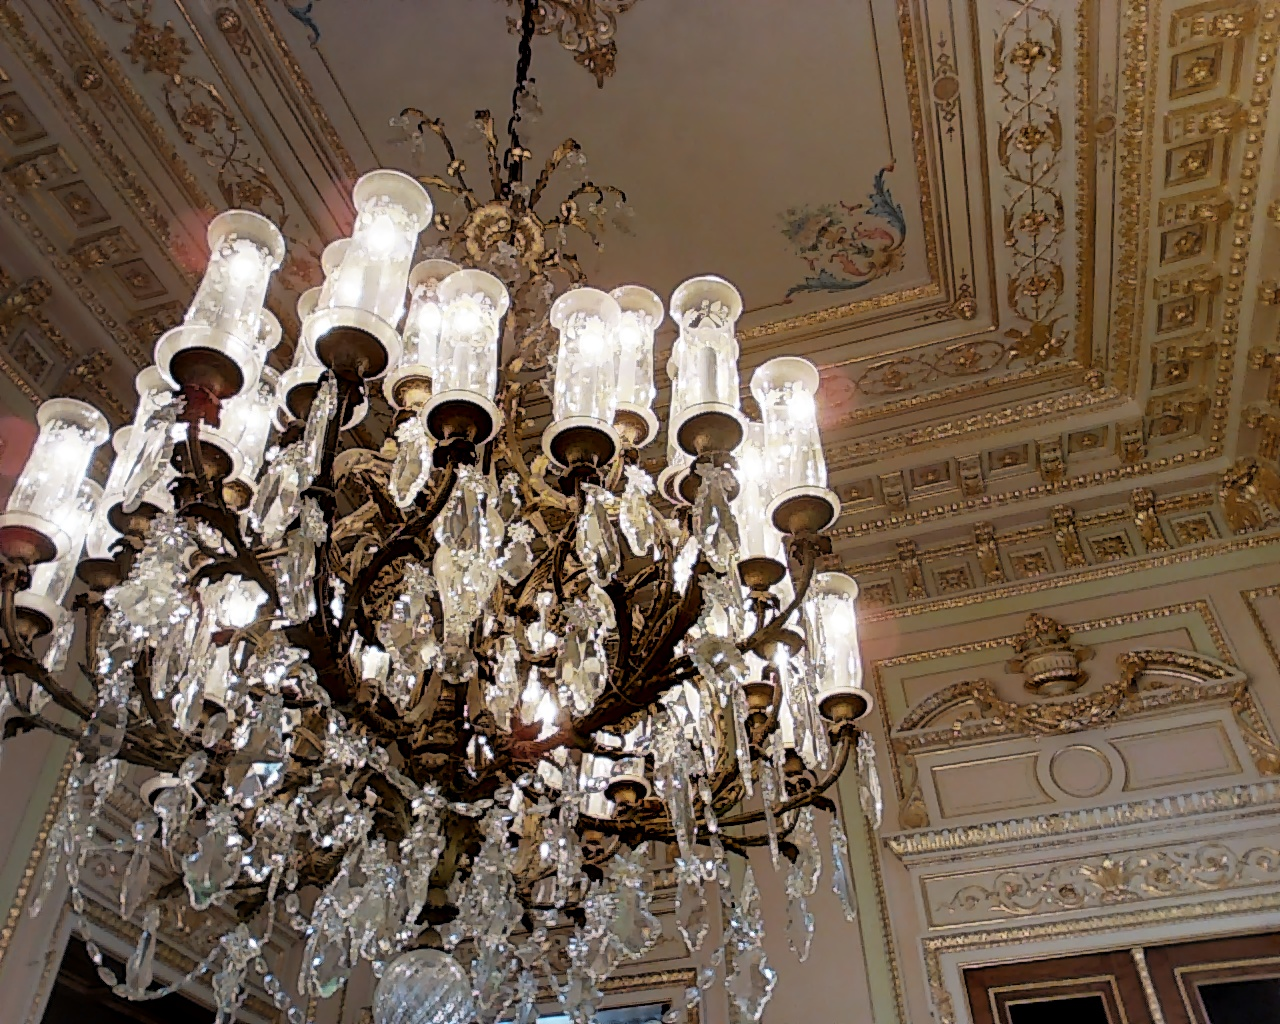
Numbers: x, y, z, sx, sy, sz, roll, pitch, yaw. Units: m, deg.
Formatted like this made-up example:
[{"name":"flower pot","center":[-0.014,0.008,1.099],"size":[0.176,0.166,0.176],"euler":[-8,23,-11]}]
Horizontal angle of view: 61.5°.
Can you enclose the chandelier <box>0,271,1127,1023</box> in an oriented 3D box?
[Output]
[{"name":"chandelier","center":[-0.300,0.390,1.760],"size":[1.489,0.530,1.400],"euler":[4,-42,-4]}]
